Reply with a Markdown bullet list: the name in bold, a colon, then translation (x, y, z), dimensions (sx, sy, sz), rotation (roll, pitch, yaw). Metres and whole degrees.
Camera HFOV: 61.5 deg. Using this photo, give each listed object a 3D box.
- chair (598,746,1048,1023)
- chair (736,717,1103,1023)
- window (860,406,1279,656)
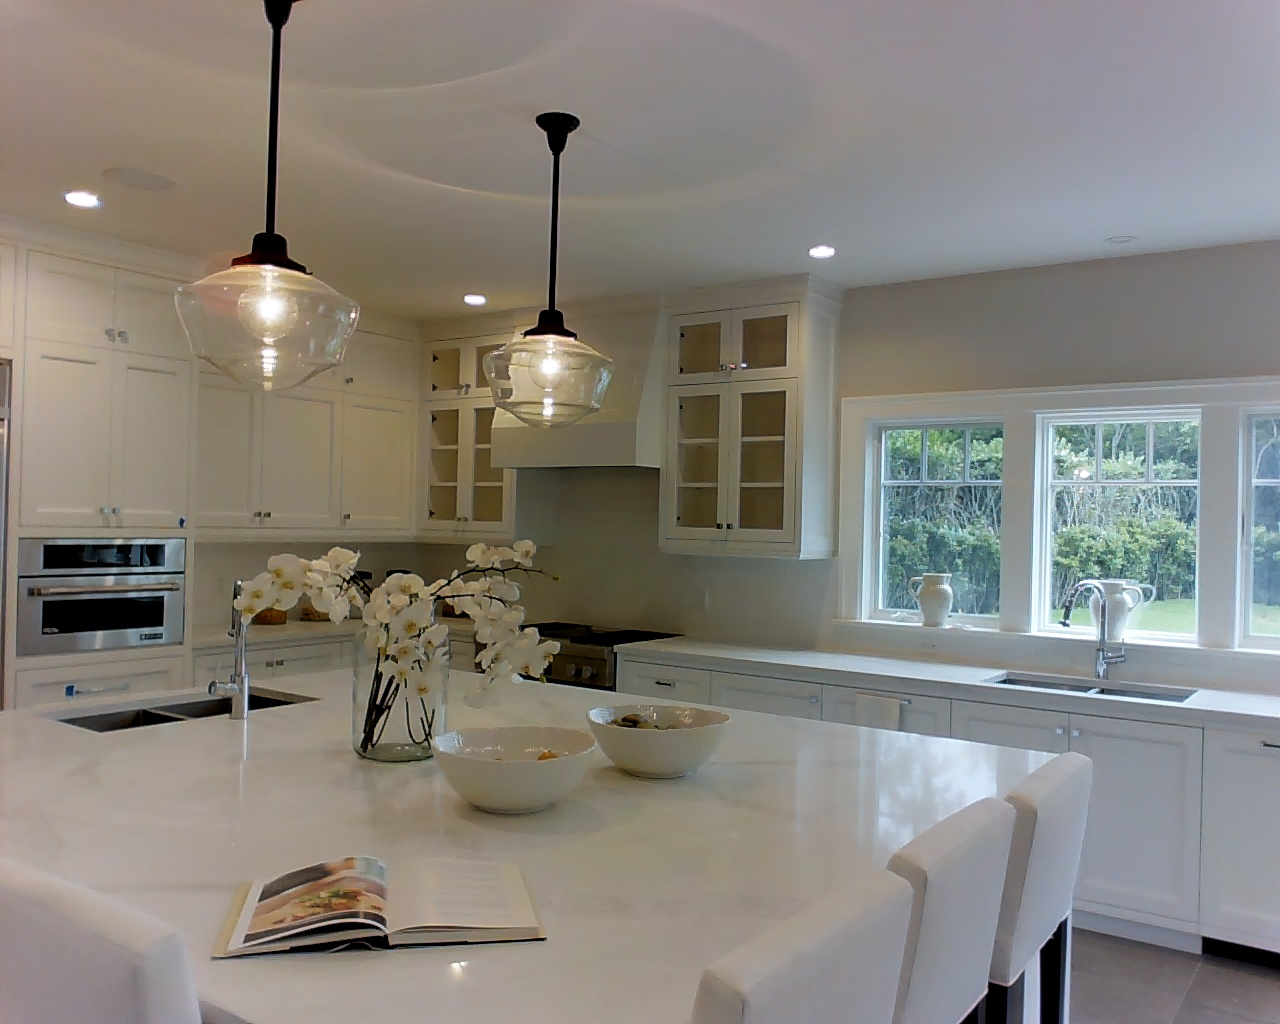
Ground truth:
- **chair**: translation (0.350, 1.050, 1.990), dimensions (0.620, 1.050, 0.610), rotation (1, -1, 34)
- **chair**: translation (0.630, 1.060, 2.390), dimensions (0.620, 1.050, 0.590), rotation (1, -1, 34)
- **window**: translation (2.100, 0.070, 4.730), dimensions (2.300, 0.990, 0.260), rotation (1, -1, 36)
